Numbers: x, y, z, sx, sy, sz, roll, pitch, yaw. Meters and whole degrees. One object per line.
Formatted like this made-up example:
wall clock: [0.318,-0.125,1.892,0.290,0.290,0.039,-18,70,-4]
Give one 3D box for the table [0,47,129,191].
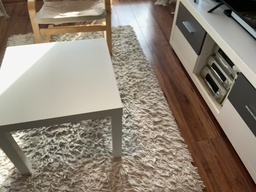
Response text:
table: [-0.360,0.130,1.160,0.600,0.450,0.630,-7,48,-9]
